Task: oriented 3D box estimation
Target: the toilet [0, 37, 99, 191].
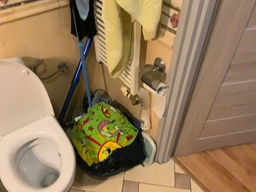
[{"bbox_3d":[-0.510,0.250,1.110,0.370,0.820,0.650,-29,52,-26],"label":"toilet"}]
